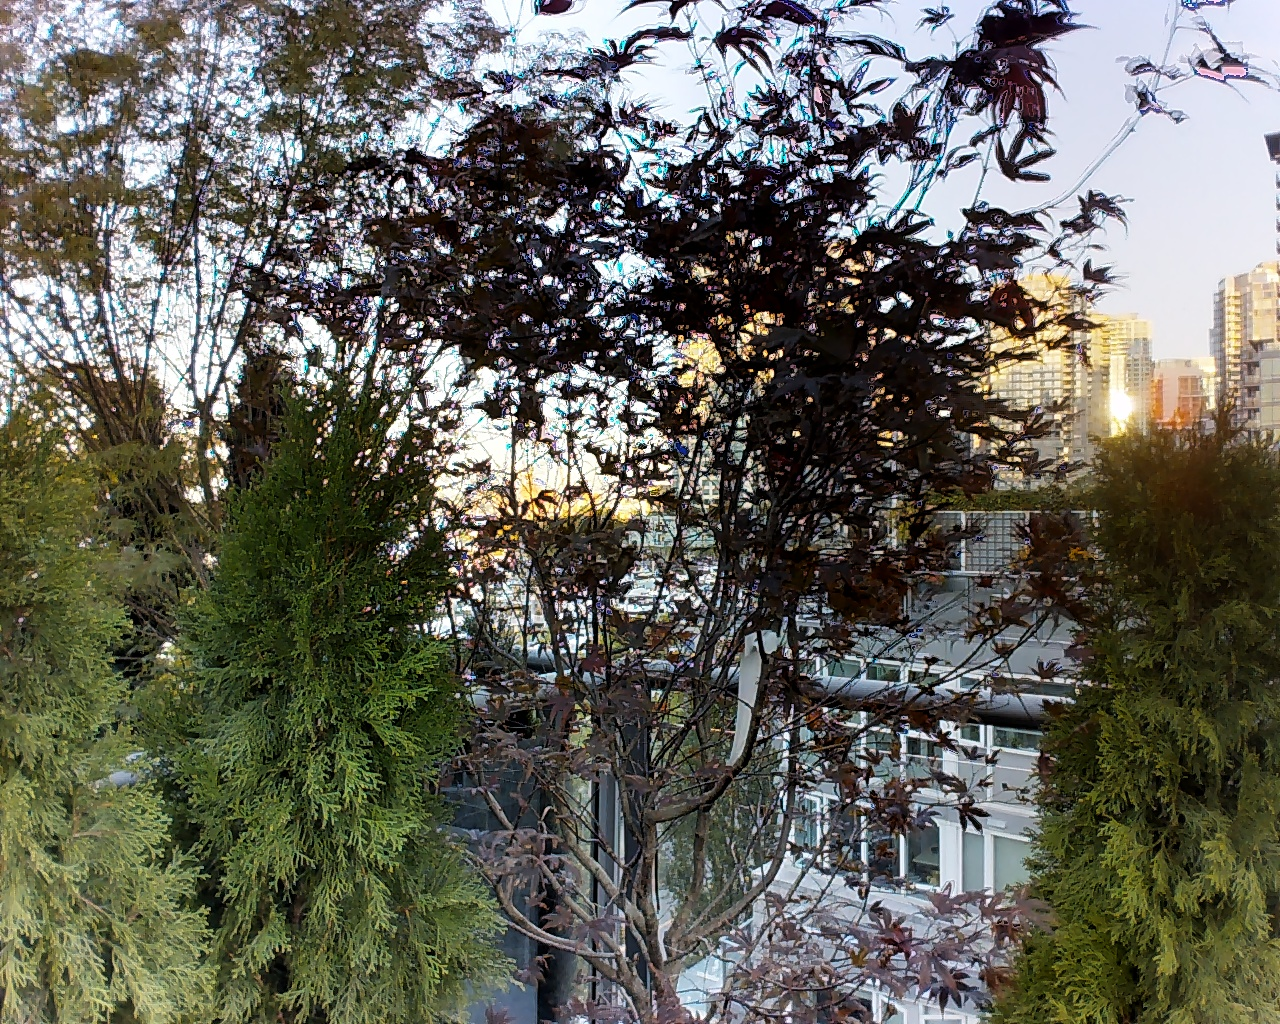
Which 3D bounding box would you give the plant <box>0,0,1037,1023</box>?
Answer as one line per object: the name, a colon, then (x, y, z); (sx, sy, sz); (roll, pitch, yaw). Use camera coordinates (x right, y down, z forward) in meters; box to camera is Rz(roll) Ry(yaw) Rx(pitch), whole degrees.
plant: (-0.160, -0.100, 1.670); (1.230, 2.381, 0.850); (0, 0, -1)
